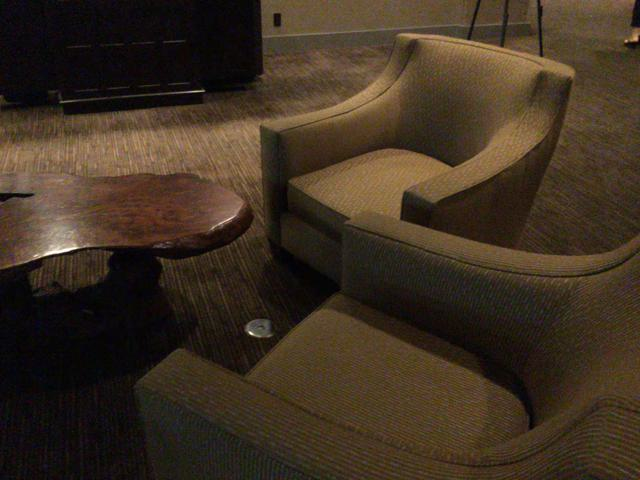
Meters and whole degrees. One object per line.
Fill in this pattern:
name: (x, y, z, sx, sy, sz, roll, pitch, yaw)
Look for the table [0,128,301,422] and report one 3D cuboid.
table: (-0.920, 0.100, 1.900, 1.540, 0.480, 0.750, -14, 35, -22)
